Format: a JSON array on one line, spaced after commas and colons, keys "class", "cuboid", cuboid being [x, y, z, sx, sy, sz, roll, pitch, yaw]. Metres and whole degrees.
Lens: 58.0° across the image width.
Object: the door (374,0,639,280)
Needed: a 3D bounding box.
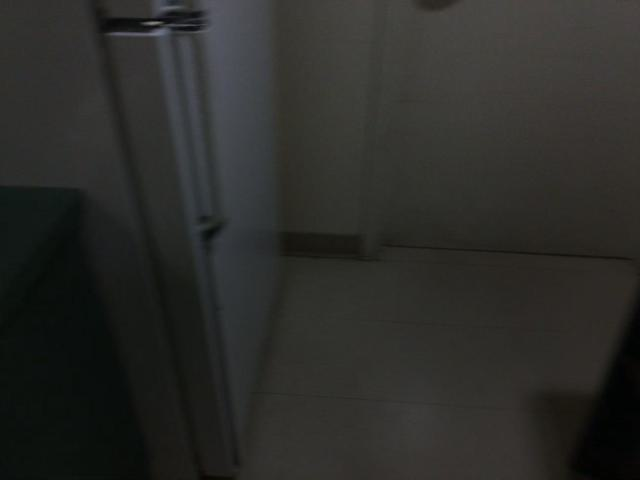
[{"class": "door", "cuboid": [0.650, -0.710, 1.420, 0.870, 1.930, 0.120, 4, 36, 2]}]
